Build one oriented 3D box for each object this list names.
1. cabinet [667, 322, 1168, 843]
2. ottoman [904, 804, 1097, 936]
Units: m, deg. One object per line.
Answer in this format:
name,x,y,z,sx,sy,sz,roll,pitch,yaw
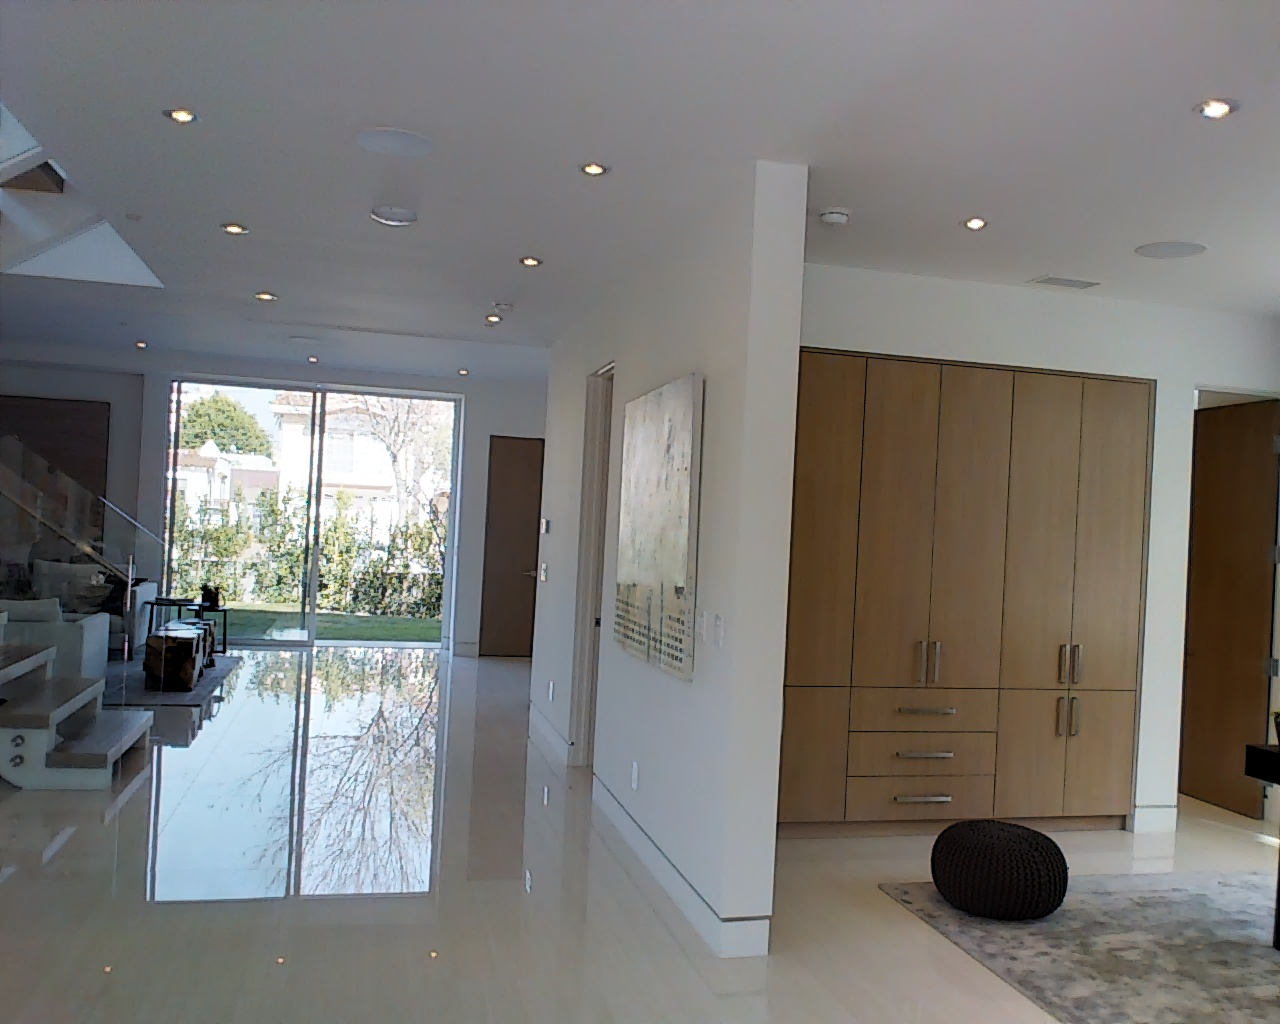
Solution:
cabinet,1.489,0.400,5.510,2.659,2.491,0.100,3,-1,-14
ottoman,1.489,1.471,4.480,0.530,0.340,0.530,3,-1,-22
